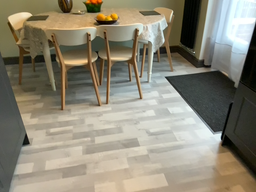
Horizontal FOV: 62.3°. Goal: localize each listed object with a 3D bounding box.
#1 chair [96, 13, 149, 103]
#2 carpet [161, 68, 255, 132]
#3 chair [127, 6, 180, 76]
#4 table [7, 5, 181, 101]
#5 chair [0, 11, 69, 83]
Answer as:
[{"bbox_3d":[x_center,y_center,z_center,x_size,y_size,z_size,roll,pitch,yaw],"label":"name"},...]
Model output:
[{"bbox_3d":[-0.080,-0.430,2.320,0.420,0.800,0.540,-7,31,-12],"label":"chair"},{"bbox_3d":[0.990,-0.040,2.420,0.870,0.040,1.210,-5,31,-9],"label":"carpet"},{"bbox_3d":[0.310,-0.760,2.890,0.520,0.800,0.440,-11,32,-18],"label":"chair"},{"bbox_3d":[-0.390,-0.660,2.760,1.660,0.770,1.240,-6,31,-9],"label":"table"},{"bbox_3d":[-1.130,-0.620,2.670,0.530,0.780,0.440,2,30,3],"label":"chair"}]
